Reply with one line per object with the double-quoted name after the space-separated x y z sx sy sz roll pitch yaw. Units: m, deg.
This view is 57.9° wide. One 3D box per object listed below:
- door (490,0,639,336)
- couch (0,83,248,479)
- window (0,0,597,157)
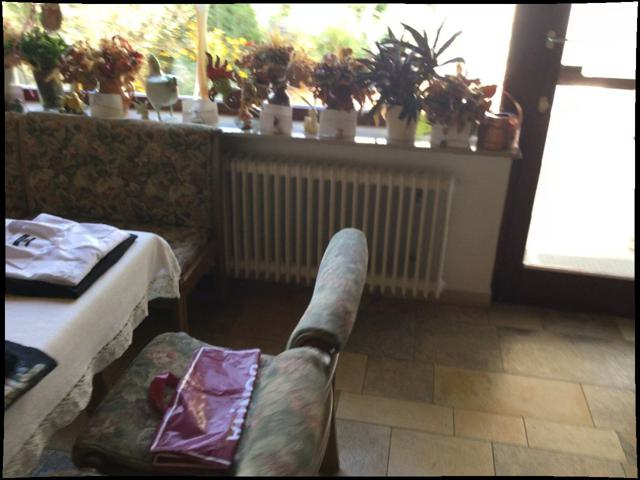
1.429 -0.601 2.290 1.129 2.072 0.440 7 28 10 "door"
-1.319 0.230 1.770 1.559 0.911 2.160 7 28 10 "couch"
-0.470 -1.071 2.300 2.877 1.111 0.480 7 28 10 "window"
